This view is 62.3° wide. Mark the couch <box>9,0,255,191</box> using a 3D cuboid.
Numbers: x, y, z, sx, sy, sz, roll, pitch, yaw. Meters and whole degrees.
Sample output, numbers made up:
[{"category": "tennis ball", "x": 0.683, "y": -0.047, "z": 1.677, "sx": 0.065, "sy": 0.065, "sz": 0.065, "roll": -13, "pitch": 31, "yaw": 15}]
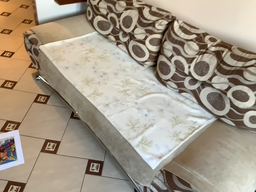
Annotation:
[{"category": "couch", "x": 0.060, "y": -0.180, "z": 1.590, "sx": 0.980, "sy": 0.880, "sz": 2.000, "roll": -26, "pitch": 55, "yaw": -35}]

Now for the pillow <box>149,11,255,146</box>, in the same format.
[{"category": "pillow", "x": 0.560, "y": -0.150, "z": 1.350, "sx": 0.240, "sy": 0.430, "sz": 0.830, "roll": -27, "pitch": 55, "yaw": -35}]

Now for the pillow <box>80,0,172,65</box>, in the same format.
[{"category": "pillow", "x": -0.060, "y": -0.650, "z": 1.840, "sx": 0.310, "sy": 0.340, "sz": 0.780, "roll": -27, "pitch": 55, "yaw": -35}]
